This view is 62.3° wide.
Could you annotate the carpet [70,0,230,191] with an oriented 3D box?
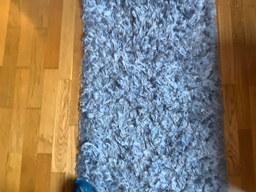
[{"bbox_3d":[0.090,0.010,1.070,0.710,0.070,1.200,-3,82,-3],"label":"carpet"}]
